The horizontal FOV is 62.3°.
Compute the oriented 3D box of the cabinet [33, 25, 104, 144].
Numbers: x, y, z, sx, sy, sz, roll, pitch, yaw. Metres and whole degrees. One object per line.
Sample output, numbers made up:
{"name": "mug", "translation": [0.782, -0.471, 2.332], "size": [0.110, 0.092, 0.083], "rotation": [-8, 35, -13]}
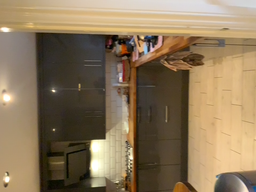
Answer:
{"name": "cabinet", "translation": [-0.910, -0.170, 3.390], "size": [0.330, 1.030, 1.760], "rotation": [-161, 71, -81]}
